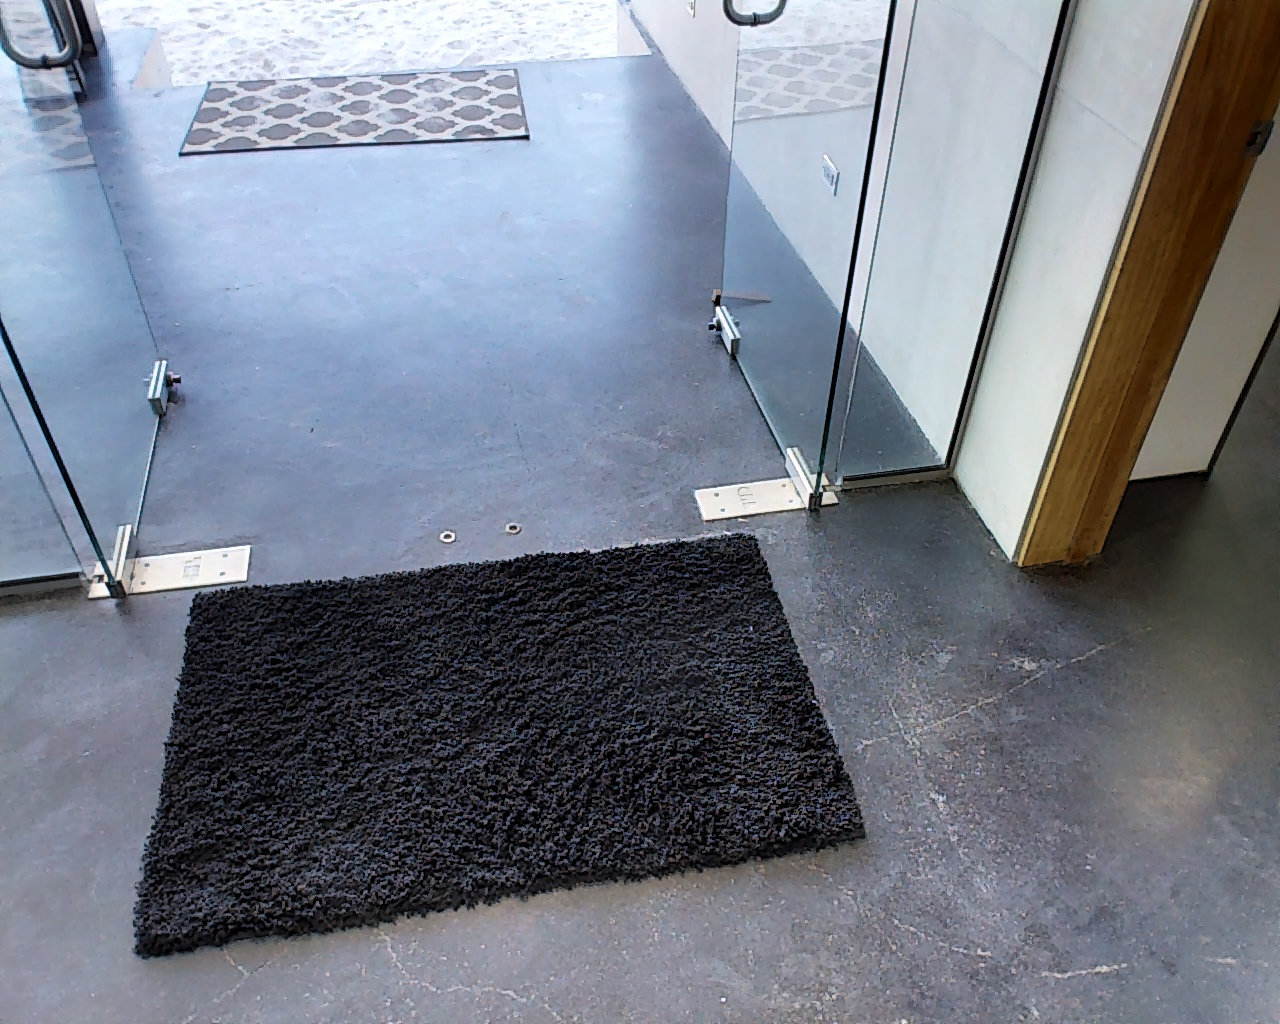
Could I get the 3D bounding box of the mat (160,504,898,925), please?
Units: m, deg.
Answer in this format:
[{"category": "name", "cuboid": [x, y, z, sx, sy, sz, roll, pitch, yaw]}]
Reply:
[{"category": "mat", "cuboid": [-0.220, 0.310, 2.020, 1.190, 0.030, 0.760, -7, 42, -8]}]
